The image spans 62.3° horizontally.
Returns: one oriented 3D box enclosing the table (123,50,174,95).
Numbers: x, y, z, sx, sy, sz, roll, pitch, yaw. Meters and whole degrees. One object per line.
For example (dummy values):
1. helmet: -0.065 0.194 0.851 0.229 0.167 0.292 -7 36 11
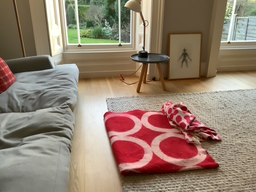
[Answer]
1. table: 0.230 -0.320 2.710 0.510 0.420 0.510 -4 23 -11
